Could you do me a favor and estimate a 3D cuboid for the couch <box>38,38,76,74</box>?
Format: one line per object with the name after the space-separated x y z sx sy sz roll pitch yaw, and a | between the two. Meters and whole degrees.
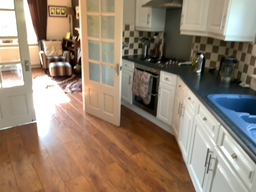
-2.000 -1.160 5.980 0.850 0.830 0.750 -8 23 -28 | couch
